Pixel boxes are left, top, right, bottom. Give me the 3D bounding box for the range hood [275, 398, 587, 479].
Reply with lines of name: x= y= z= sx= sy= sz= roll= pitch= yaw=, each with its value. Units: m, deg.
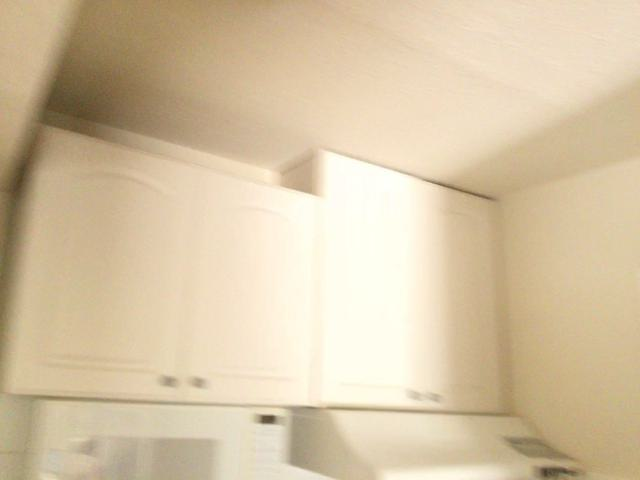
range hood: x=0.320 y=0.590 z=1.710 sx=0.760 sy=0.220 sz=0.490 roll=9 pitch=-16 yaw=-30
